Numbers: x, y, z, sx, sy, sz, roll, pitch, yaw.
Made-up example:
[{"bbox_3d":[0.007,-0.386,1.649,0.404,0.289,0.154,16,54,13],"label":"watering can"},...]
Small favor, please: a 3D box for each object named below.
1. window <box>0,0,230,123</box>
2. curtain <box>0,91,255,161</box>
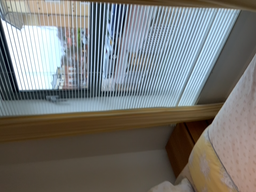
[{"bbox_3d":[-0.210,-0.220,1.520,1.000,1.540,0.160,103,159,-43],"label":"window"},{"bbox_3d":[-0.110,0.250,1.880,0.580,2.460,0.250,107,156,-50],"label":"curtain"}]
